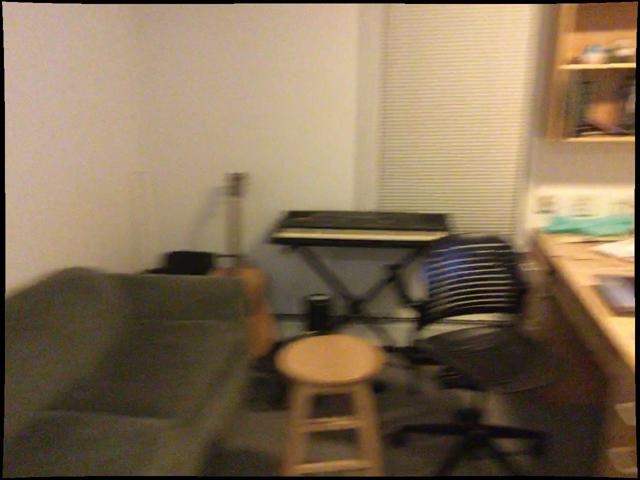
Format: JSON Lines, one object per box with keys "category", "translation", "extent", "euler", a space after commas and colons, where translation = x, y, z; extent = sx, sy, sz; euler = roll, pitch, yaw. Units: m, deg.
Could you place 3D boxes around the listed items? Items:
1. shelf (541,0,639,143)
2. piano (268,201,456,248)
{"category": "shelf", "translation": [1.548, -1.011, 2.620], "extent": [0.869, 1.091, 0.360], "euler": [2, 17, 8]}
{"category": "piano", "translation": [0.220, -0.090, 2.980], "extent": [0.899, 0.110, 0.420], "euler": [2, 17, 8]}
